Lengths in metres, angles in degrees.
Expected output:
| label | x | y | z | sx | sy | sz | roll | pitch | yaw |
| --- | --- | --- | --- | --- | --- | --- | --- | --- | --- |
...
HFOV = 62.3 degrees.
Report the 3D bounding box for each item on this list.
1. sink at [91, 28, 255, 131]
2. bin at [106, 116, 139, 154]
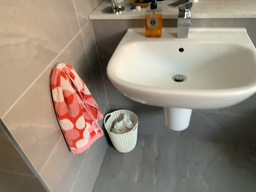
| label | x | y | z | sx | sy | sz | roll | pitch | yaw |
| --- | --- | --- | --- | --- | --- | --- | --- | --- | --- |
| sink | 0.210 | -0.120 | 0.930 | 0.580 | 0.160 | 0.480 | 5 | 41 | 13 |
| bin | -0.030 | 0.270 | 1.490 | 0.180 | 0.190 | 0.160 | 4 | 41 | 12 |
